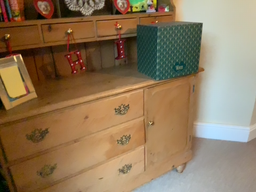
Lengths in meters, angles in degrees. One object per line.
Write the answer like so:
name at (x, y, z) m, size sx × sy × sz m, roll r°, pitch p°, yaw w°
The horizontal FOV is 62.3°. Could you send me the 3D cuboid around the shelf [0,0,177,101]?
shelf at (-0.260, -0.650, 1.130) m, size 1.190 × 1.140 × 0.230 m, roll -15°, pitch 27°, yaw -27°
